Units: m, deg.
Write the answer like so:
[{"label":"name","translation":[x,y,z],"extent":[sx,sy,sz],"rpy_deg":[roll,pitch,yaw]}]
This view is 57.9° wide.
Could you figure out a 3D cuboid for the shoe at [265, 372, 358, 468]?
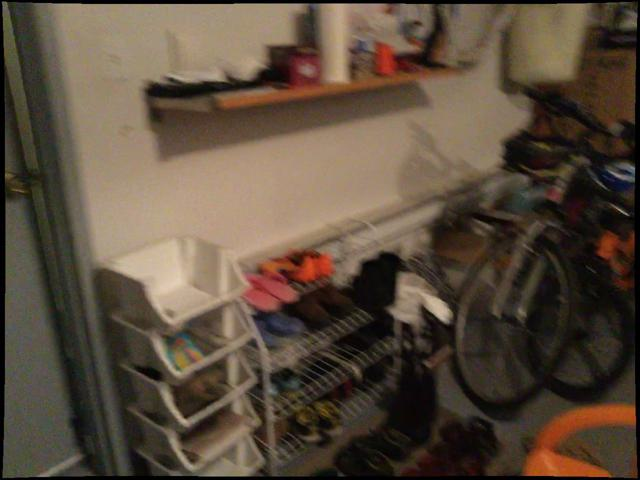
[{"label":"shoe","translation":[-0.030,0.621,2.020],"extent":[0.270,0.150,0.180],"rpy_deg":[20,32,41]}]

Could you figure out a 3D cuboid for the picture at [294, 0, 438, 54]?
[{"label":"picture","translation":[0.190,-0.901,2.130],"extent":[0.140,0.340,0.650],"rpy_deg":[20,32,41]}]

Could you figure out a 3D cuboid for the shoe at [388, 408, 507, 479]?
[{"label":"shoe","translation":[0.400,0.701,1.820],"extent":[0.260,0.120,0.260],"rpy_deg":[20,32,41]}]

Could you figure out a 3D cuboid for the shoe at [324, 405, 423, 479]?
[{"label":"shoe","translation":[0.180,0.691,1.930],"extent":[0.250,0.090,0.220],"rpy_deg":[13,28,32]}]
